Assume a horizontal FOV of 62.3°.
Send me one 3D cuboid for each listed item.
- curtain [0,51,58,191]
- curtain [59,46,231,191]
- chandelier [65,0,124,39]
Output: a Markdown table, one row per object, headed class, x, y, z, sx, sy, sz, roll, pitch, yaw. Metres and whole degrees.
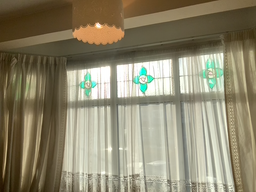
| class | x | y | z | sx | sy | sz | roll | pitch | yaw |
| --- | --- | --- | --- | --- | --- | --- | --- | --- | --- |
| curtain | -1.070 | 0.560 | 1.950 | 0.750 | 1.890 | 0.280 | -2 | -5 | -4 |
| curtain | 0.050 | 0.370 | 1.990 | 1.590 | 1.460 | 0.120 | -4 | -5 | 20 |
| chandelier | -0.190 | -0.550 | 1.280 | 0.310 | 0.320 | 0.280 | -2 | -5 | -4 |
